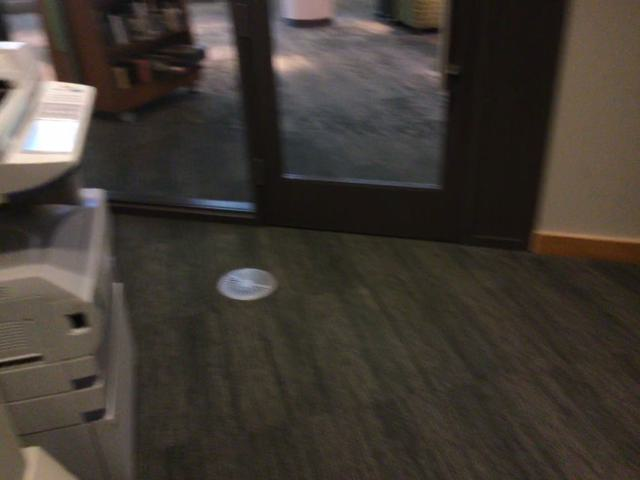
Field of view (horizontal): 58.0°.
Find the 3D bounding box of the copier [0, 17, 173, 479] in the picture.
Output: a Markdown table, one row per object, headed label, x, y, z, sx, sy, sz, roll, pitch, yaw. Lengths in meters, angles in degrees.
| label | x | y | z | sx | sy | sz | roll | pitch | yaw |
| --- | --- | --- | --- | --- | --- | --- | --- | --- | --- |
| copier | -0.780 | 0.100 | 1.440 | 0.610 | 1.090 | 0.640 | -8 | 31 | -8 |
